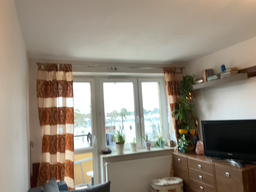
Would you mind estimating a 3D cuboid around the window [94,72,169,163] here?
[{"bbox_3d":[0.100,0.370,4.150,1.480,1.620,0.120,-1,-5,-24],"label":"window"}]

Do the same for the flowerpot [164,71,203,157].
[{"bbox_3d":[1.000,0.310,3.880,0.420,1.450,0.440,-1,-5,-23],"label":"flowerpot"}]
